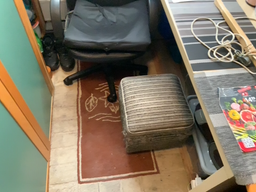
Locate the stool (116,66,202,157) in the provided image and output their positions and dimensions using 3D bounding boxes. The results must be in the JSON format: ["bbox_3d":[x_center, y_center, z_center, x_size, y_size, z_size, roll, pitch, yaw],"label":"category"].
[{"bbox_3d":[0.140,0.100,1.270,0.380,0.370,0.370,-6,57,-7],"label":"stool"}]
